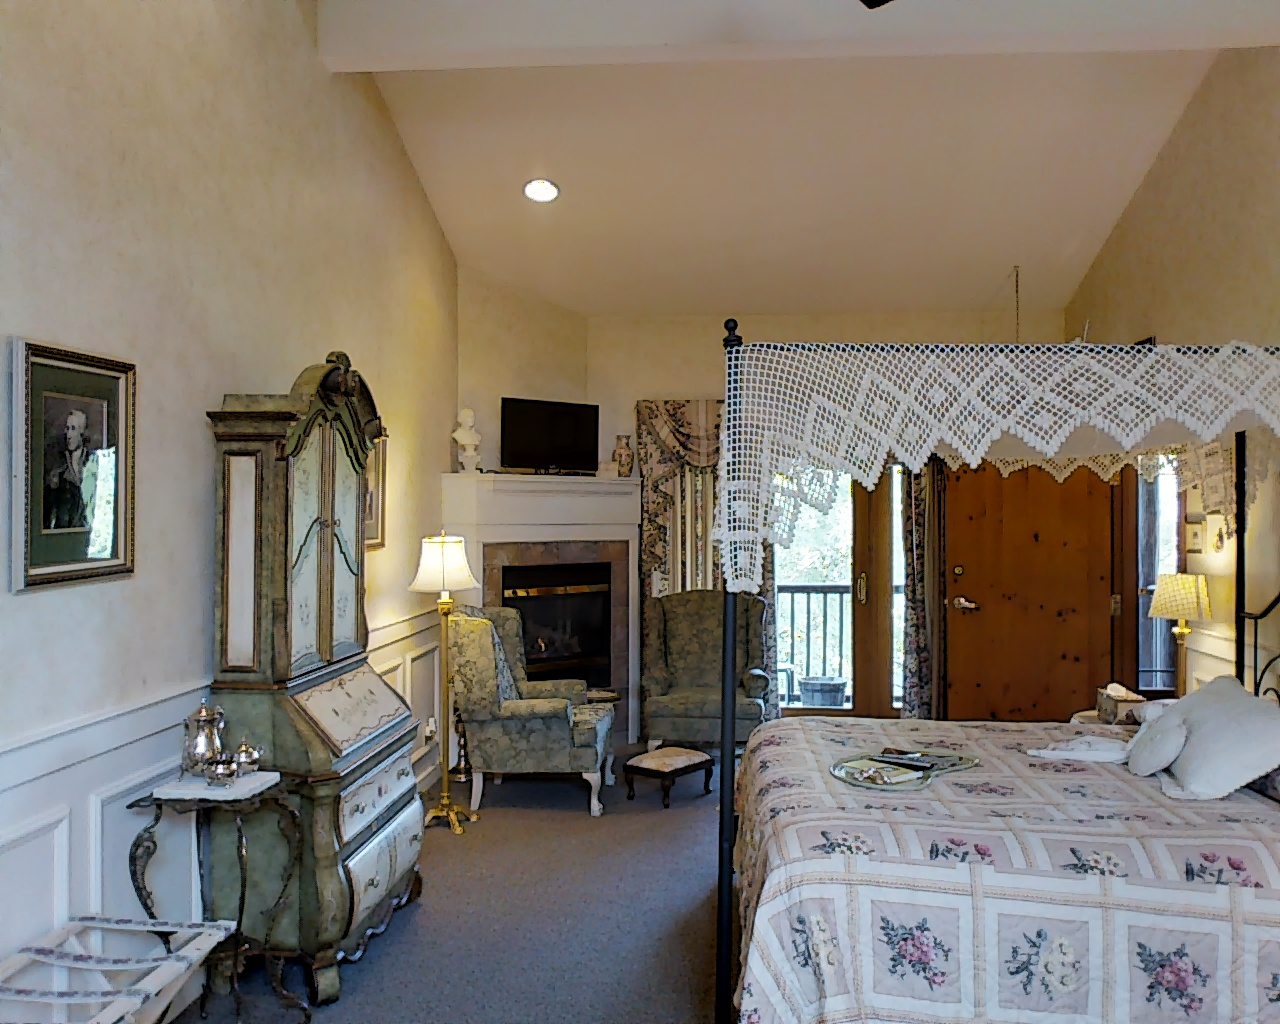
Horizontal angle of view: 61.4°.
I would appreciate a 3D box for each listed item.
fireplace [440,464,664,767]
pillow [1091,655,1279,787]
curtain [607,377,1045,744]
[{"bbox_3d":[-0.540,0.610,6.970,1.450,1.780,0.410,0,-1,-40],"label":"fireplace"},{"bbox_3d":[1.950,0.690,3.690,0.490,0.290,0.890,-1,-1,5],"label":"pillow"},{"bbox_3d":[1.220,0.340,7.280,2.839,2.401,0.240,-1,-1,5],"label":"curtain"}]
